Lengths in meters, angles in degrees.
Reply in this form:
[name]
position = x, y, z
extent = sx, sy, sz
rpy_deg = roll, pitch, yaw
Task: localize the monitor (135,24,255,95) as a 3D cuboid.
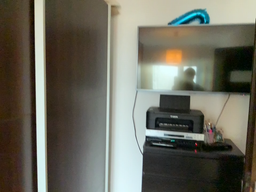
[monitor]
position = 0.560, -0.310, 1.780
extent = 0.990, 0.550, 0.040
rpy_deg = 3, 6, 12
